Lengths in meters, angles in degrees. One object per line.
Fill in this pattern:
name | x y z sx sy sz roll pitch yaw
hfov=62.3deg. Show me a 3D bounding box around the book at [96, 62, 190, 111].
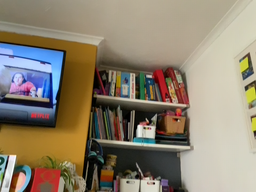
book | 0.130 -0.080 2.120 0.850 0.310 0.360 4 -22 -4
